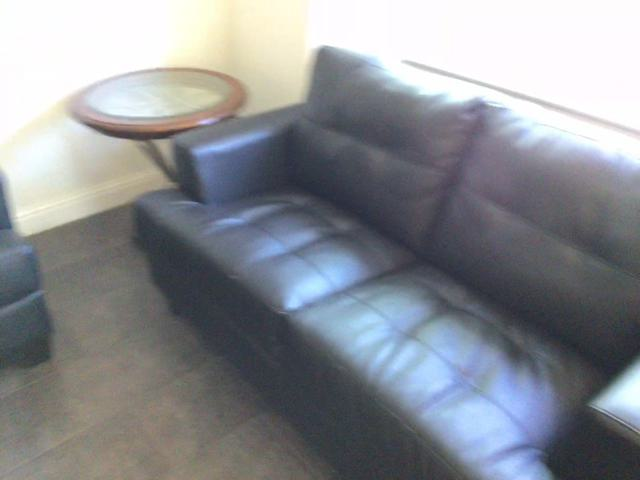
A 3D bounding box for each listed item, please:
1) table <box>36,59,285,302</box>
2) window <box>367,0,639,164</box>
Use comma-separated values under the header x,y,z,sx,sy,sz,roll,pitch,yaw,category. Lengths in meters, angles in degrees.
x,y,z,sx,sy,sz,roll,pitch,yaw,category
-0.680,-0.320,2.510,0.690,0.720,0.760,-20,37,-39,table
0.690,-0.550,1.700,0.200,0.420,1.260,-20,37,-39,window
